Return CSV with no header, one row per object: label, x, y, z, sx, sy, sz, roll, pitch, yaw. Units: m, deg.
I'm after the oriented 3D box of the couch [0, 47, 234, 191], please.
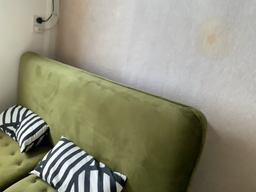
couch,-0.450,0.270,1.350,1.690,0.790,0.900,21,107,39
